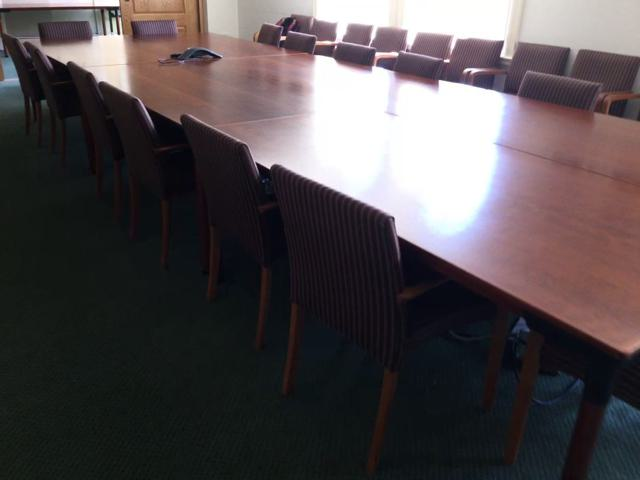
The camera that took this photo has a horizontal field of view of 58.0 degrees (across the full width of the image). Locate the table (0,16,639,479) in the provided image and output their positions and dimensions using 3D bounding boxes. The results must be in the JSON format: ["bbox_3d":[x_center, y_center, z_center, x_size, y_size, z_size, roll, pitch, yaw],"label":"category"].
[{"bbox_3d":[-0.310,-0.650,3.490,2.130,0.830,5.470,-16,30,-31],"label":"table"}]
